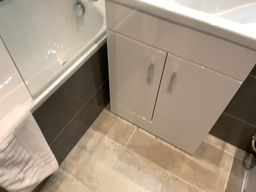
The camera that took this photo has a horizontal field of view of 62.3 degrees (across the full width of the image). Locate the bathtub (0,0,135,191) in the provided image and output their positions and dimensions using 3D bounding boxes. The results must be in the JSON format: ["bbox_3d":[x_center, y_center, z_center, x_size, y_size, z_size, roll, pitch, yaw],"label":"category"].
[{"bbox_3d":[-0.670,0.080,1.070,0.680,0.580,1.660,25,55,15],"label":"bathtub"}]

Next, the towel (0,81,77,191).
[{"bbox_3d":[-0.430,0.250,0.920,0.170,0.550,0.310,26,55,16],"label":"towel"}]

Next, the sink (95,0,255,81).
[{"bbox_3d":[0.240,-0.360,0.860,0.630,0.150,0.390,26,55,16],"label":"sink"}]
